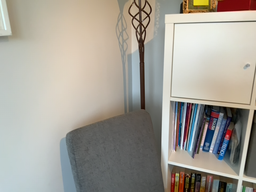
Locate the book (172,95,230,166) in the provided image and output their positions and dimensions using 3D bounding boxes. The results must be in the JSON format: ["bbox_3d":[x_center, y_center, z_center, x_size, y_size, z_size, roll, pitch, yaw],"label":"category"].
[{"bbox_3d":[0.420,0.180,1.220,0.260,0.280,0.250,7,20,22],"label":"book"}]
